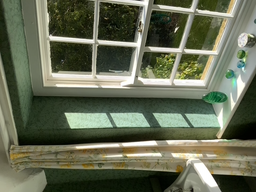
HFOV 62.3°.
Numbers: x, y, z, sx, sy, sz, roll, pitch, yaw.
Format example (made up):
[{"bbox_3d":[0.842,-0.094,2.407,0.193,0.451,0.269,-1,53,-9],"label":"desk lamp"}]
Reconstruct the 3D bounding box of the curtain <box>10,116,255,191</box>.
[{"bbox_3d":[0.270,0.410,1.500,0.300,1.870,0.420,-108,22,-54],"label":"curtain"}]

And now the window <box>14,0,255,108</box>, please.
[{"bbox_3d":[0.040,-0.410,1.330,0.370,1.250,0.940,-108,22,-54],"label":"window"}]
